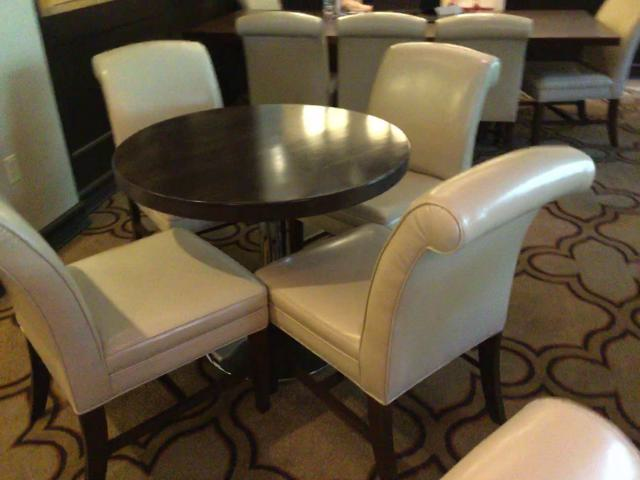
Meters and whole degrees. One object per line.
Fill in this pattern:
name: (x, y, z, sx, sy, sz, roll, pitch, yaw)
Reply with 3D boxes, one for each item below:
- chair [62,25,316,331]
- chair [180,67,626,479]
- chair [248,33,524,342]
chair: (-0.530, -0.320, 2.410, 0.610, 0.950, 0.840, -21, 33, -31)
chair: (0.150, 0.090, 1.630, 0.540, 0.920, 0.970, -23, 34, -34)
chair: (0.260, -0.270, 2.290, 0.760, 0.900, 0.650, -26, 36, -37)
